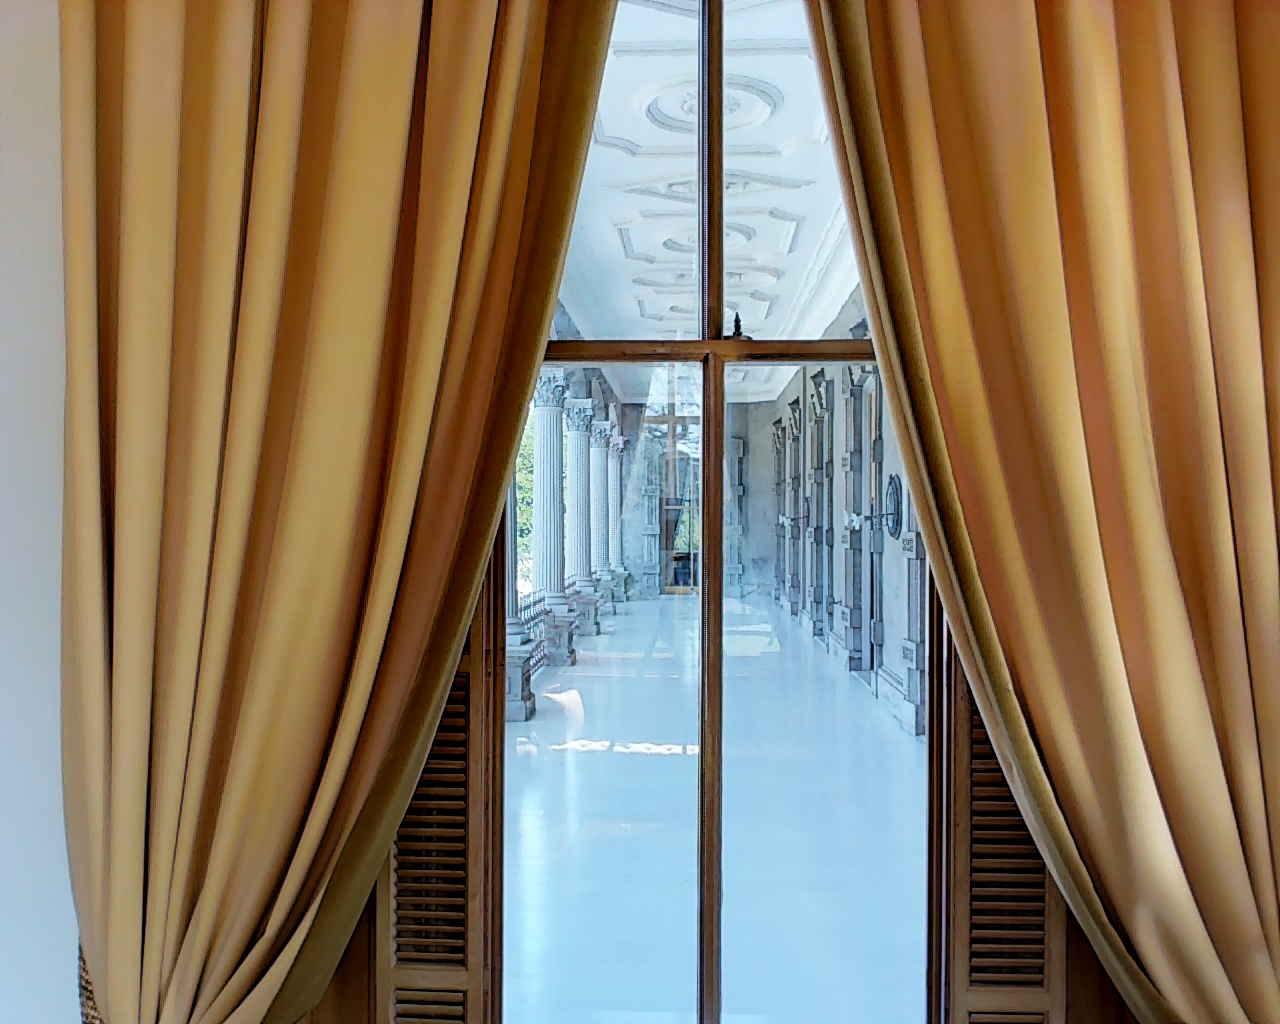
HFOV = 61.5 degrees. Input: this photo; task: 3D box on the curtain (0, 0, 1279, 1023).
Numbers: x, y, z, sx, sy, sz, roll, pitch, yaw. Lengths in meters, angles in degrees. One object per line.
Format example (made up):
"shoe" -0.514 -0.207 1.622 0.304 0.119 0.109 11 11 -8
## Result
"curtain" 0.160 -0.170 1.740 2.280 3.410 0.470 1 -1 5
